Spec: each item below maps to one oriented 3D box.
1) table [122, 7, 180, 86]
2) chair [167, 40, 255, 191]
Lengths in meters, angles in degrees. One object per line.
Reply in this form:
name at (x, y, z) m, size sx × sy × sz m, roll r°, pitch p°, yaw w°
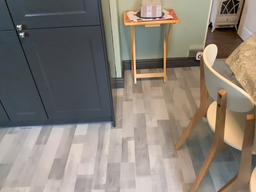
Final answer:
table at (0.200, -0.490, 2.140) m, size 0.480 × 0.660 × 0.390 m, roll -3°, pitch 37°, yaw -1°
chair at (0.550, 0.160, 1.150) m, size 0.550 × 0.790 × 0.420 m, roll -2°, pitch 37°, yaw 0°
